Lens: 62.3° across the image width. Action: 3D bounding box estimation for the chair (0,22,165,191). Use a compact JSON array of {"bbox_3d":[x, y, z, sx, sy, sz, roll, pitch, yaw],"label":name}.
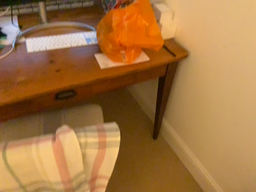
[{"bbox_3d":[-0.280,0.240,0.930,0.490,0.860,0.560,-16,47,-21],"label":"chair"}]
